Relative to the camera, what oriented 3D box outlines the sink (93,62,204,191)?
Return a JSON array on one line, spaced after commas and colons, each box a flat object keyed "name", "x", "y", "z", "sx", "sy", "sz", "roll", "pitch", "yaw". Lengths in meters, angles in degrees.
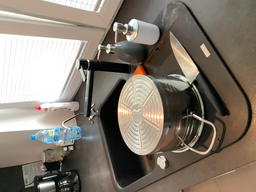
[{"name": "sink", "x": 0.050, "y": 0.170, "z": 1.050, "sx": 0.400, "sy": 0.210, "sz": 0.510, "roll": -50, "pitch": 50, "yaw": 44}]
